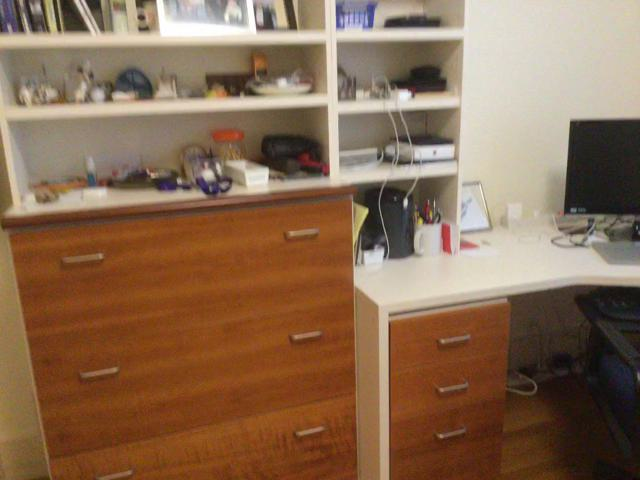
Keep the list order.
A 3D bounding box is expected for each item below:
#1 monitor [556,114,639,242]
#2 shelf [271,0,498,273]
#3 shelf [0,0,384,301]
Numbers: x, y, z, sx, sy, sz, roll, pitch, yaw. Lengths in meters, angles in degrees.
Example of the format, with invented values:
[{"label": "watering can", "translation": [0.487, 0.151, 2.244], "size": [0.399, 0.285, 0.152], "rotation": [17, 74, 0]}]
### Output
[{"label": "monitor", "translation": [1.160, -0.220, 2.060], "size": [0.520, 0.430, 0.170], "rotation": [4, 15, 10]}, {"label": "shelf", "translation": [0.190, -0.650, 1.830], "size": [0.620, 1.430, 0.330], "rotation": [-4, 15, -19]}, {"label": "shelf", "translation": [-0.390, -0.590, 1.570], "size": [1.000, 1.340, 0.490], "rotation": [-4, 15, -19]}]
